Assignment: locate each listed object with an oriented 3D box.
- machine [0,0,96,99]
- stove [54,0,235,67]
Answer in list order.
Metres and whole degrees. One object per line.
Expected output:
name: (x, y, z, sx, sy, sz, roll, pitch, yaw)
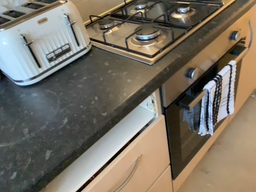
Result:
machine: (-0.350, -0.200, 0.750, 0.310, 0.180, 0.310, 27, 54, 38)
stove: (0.070, -0.370, 0.940, 0.560, 0.040, 0.600, 26, 54, 38)
